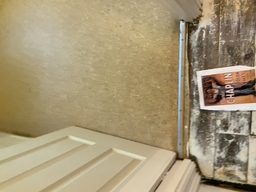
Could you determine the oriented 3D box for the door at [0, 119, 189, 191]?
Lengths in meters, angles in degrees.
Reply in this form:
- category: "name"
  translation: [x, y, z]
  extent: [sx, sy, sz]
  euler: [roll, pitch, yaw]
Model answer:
- category: "door"
  translation: [-0.480, 0.350, 0.400]
  extent: [0.810, 1.950, 0.040]
  euler: [11, 101, 25]
